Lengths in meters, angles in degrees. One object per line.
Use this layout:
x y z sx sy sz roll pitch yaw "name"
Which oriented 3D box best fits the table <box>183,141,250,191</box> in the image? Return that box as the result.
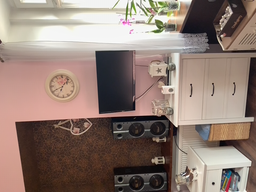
1.110 0.950 2.760 0.430 0.640 0.550 -118 27 -76 "table"
